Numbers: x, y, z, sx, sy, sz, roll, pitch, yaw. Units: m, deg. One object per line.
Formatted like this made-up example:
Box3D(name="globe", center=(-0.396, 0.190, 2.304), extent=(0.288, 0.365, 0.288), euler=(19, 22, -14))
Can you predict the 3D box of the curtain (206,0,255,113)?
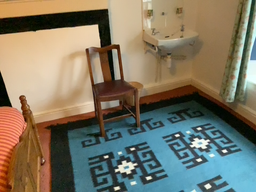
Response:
Box3D(name="curtain", center=(1.060, -0.680, 1.960), extent=(0.310, 1.710, 0.310), euler=(-13, 29, -20))
